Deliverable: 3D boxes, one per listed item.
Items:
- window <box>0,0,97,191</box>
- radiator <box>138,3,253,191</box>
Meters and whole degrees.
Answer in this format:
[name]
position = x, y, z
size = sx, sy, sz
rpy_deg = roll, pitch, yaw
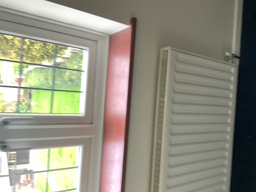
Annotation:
[window]
position = -0.580, 0.050, 0.940
size = 0.110, 0.860, 1.040
rpy_deg = 1, 88, 56
[radiator]
position = 0.410, 0.180, 1.200
size = 0.090, 0.740, 1.150
rpy_deg = 8, 93, 56
